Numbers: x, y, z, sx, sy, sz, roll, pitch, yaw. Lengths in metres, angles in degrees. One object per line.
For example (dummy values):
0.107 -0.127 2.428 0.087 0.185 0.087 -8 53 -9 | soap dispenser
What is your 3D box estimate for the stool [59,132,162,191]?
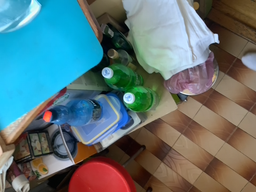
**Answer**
-0.070 0.430 1.090 0.300 0.400 0.310 38 101 15 | stool
